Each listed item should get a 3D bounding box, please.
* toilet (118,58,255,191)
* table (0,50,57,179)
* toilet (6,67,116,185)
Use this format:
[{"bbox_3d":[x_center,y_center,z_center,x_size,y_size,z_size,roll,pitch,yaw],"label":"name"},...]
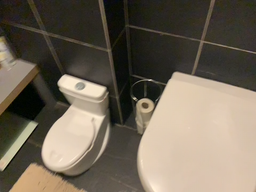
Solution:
[{"bbox_3d":[0.270,0.190,0.830,0.410,0.300,0.540,16,58,15],"label":"toilet"},{"bbox_3d":[-0.770,0.100,1.150,0.360,0.390,0.600,18,58,16],"label":"table"},{"bbox_3d":[-0.280,0.160,1.080,0.260,0.400,0.400,16,58,15],"label":"toilet"}]
